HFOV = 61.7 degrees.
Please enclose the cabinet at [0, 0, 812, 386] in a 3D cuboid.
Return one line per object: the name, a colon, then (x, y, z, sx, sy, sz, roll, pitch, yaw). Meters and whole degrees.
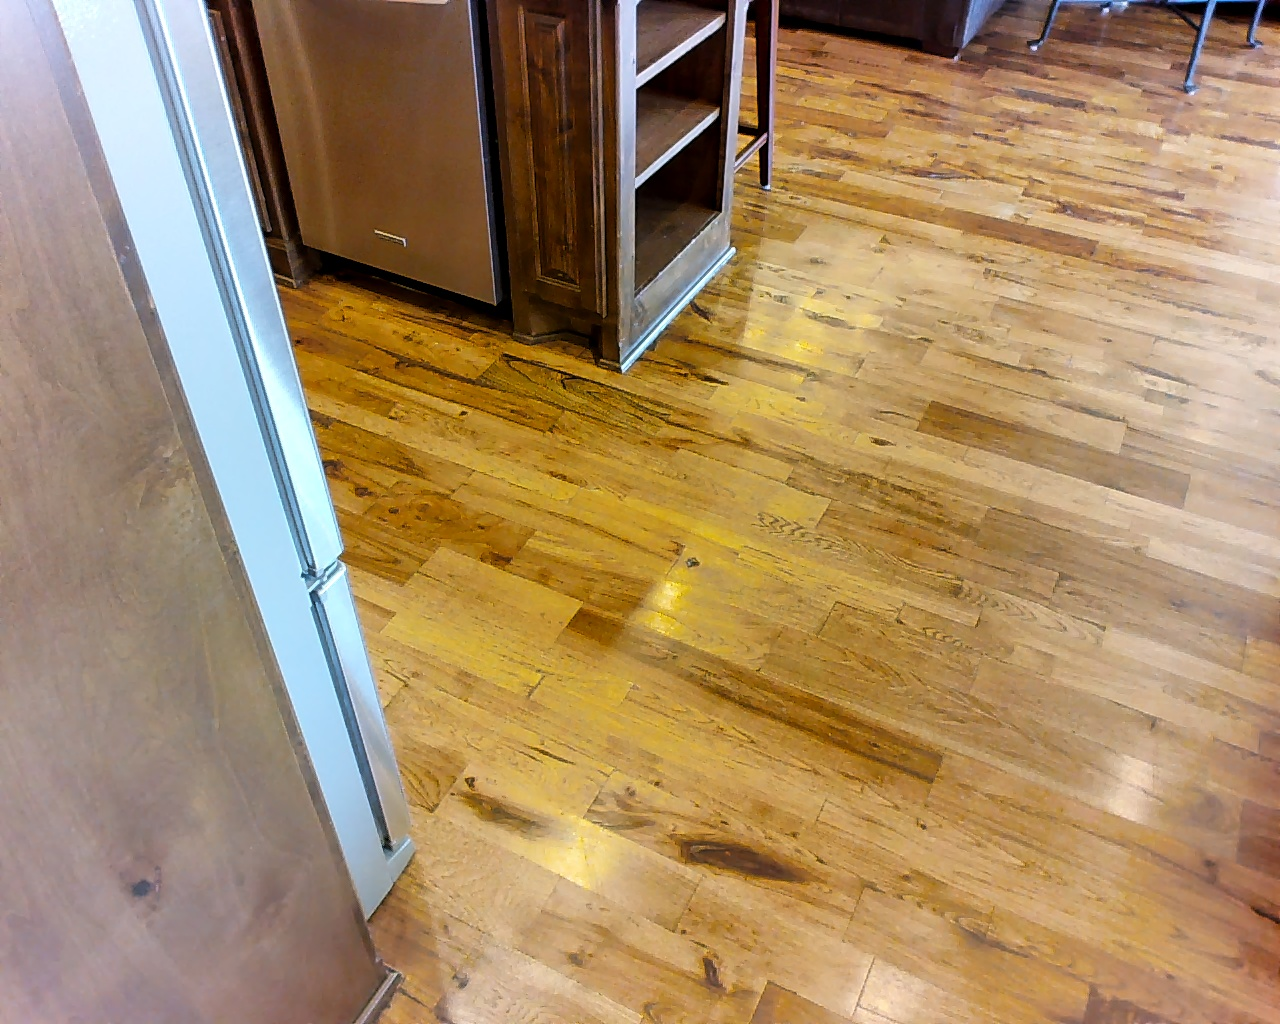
cabinet: (-1.130, -1.420, 3.020, 3.030, 0.900, 0.990, 21, 47, 20)
